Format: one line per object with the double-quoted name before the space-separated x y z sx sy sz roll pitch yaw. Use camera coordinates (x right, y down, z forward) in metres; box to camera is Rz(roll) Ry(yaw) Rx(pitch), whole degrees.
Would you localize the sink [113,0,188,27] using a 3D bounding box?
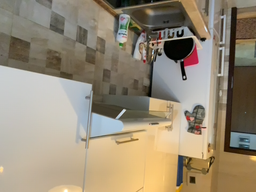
"sink" 0.180 -0.700 1.620 0.460 0.180 0.350 3 177 28
